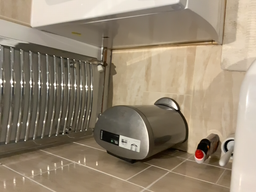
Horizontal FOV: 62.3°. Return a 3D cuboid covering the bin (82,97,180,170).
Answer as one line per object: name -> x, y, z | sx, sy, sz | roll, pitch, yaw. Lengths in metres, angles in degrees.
bin -> 0.040, 0.140, 1.030 | 0.260, 0.440, 0.240 | 8, 94, 33
